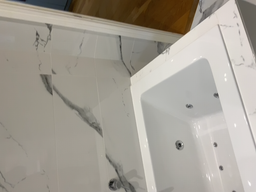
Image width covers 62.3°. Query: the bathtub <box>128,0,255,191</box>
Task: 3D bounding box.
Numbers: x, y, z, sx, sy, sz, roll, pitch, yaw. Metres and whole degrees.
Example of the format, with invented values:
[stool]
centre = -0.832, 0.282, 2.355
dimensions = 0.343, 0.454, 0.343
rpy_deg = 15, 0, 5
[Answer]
[bathtub]
centre = 0.590, 0.580, 1.150
dimensions = 0.880, 0.560, 1.830
rpy_deg = -32, 63, 56
